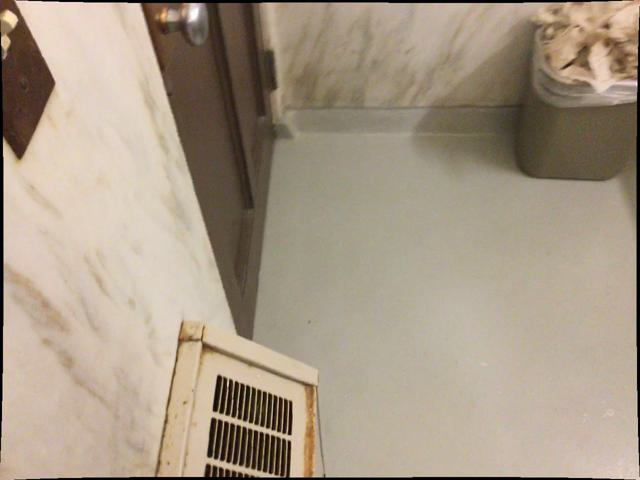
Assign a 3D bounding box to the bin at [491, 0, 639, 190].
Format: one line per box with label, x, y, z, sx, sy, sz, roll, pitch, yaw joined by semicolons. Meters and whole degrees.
bin;0.779;-0.430;1.580;0.470;0.500;0.320;1;51;3
